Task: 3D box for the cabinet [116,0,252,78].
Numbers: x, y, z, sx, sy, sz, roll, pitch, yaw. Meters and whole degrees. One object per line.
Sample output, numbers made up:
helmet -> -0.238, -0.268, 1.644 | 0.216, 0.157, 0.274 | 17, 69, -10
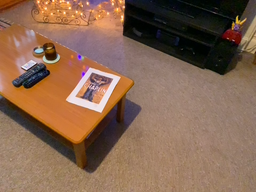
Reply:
cabinet -> 0.490, -0.680, 2.090 | 1.160, 0.400, 0.410 | 28, 53, 17
